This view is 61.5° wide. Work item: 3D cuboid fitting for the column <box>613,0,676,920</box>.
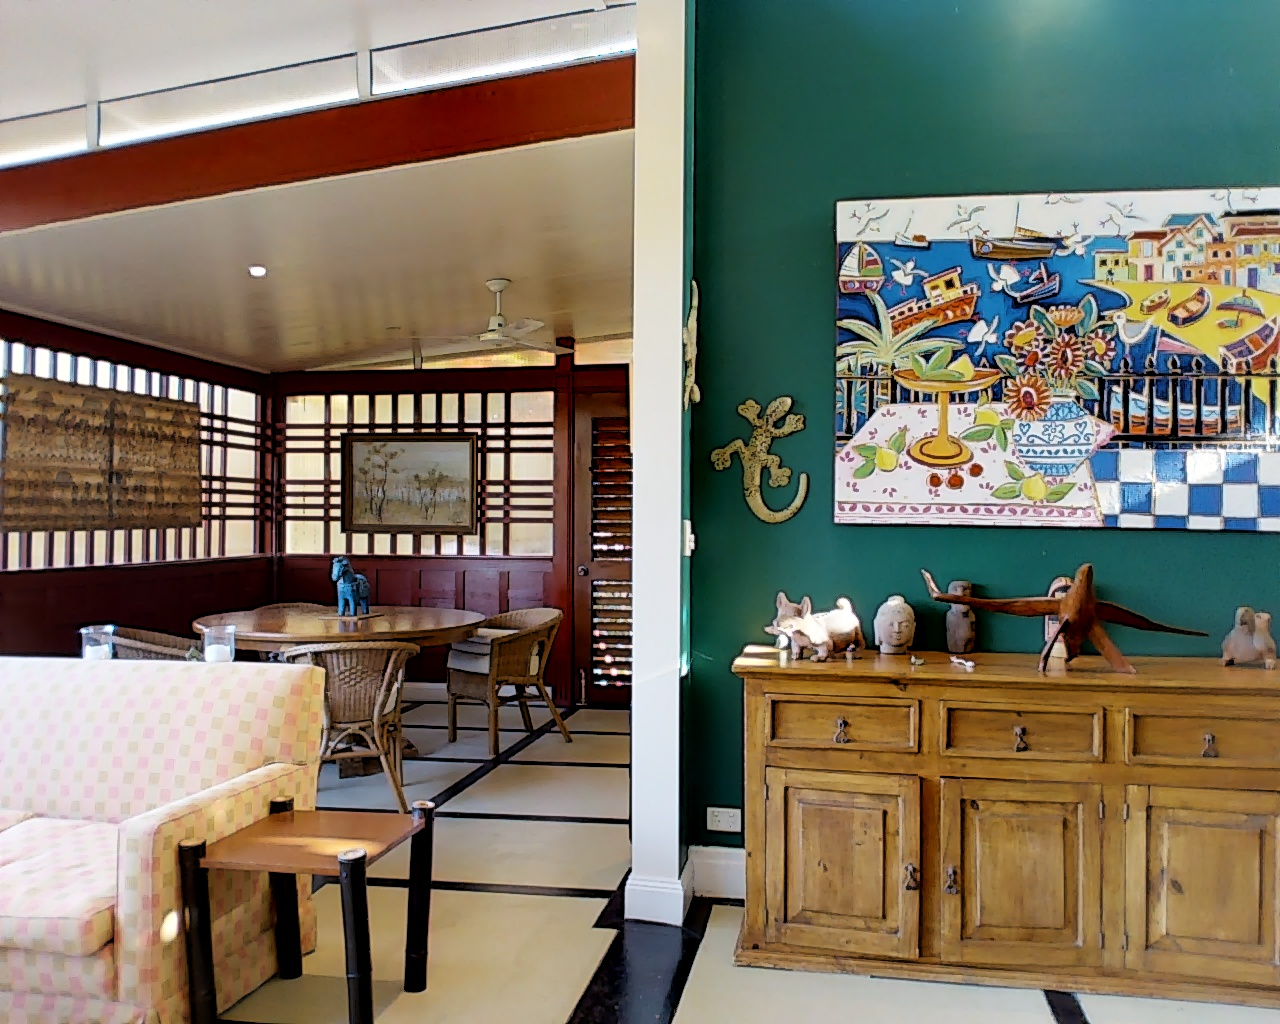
[{"bbox_3d":[0.020,-0.270,3.560,0.140,3.091,0.360,0,-1,11],"label":"column"}]
